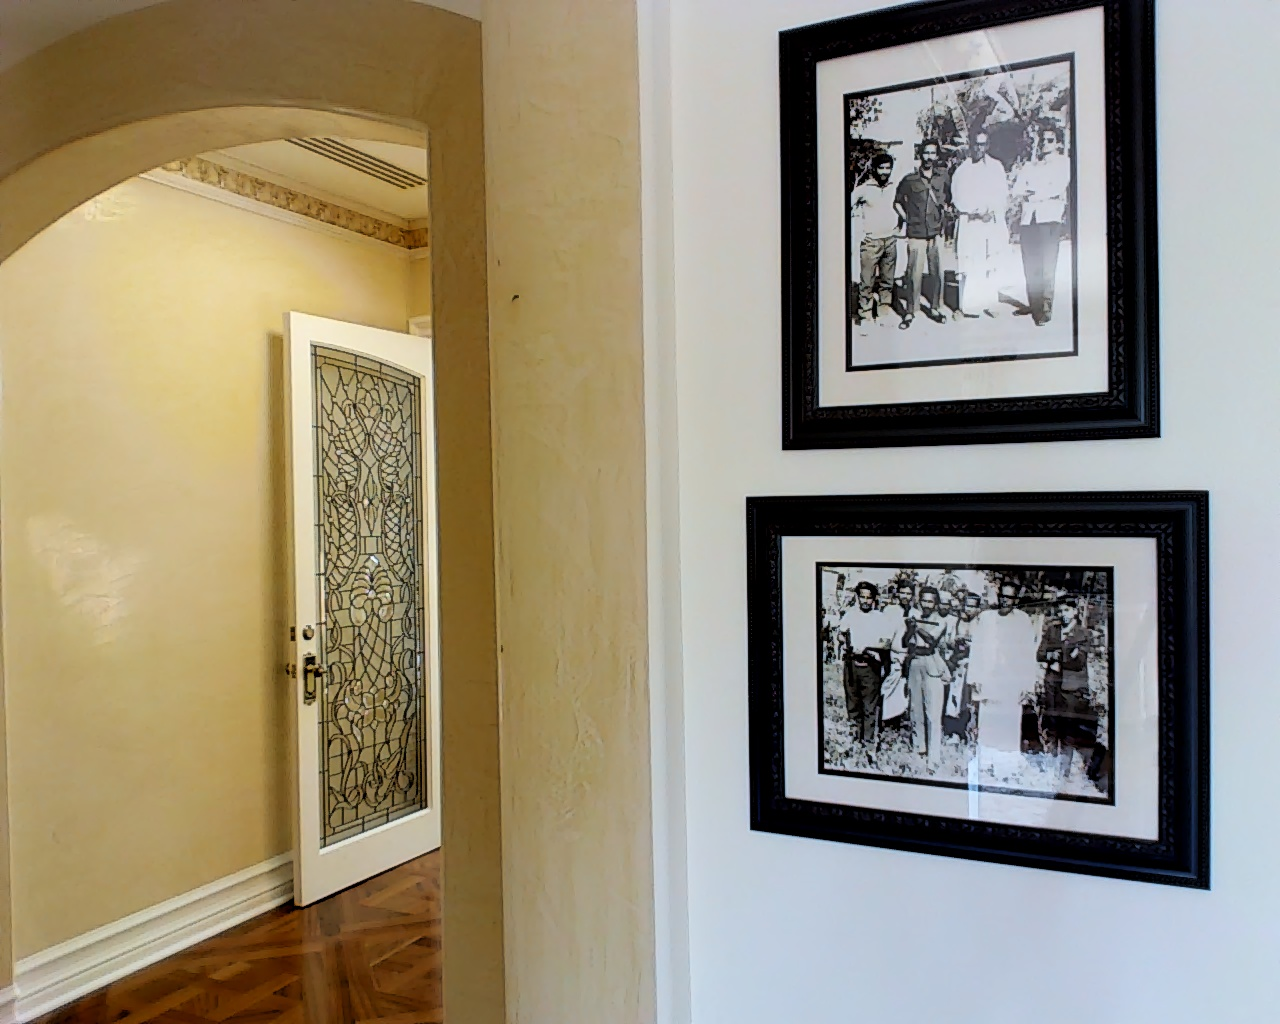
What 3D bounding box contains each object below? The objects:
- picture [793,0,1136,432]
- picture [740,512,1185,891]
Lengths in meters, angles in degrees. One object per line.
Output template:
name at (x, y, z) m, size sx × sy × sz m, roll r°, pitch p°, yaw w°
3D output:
picture at (0.390, -0.380, 1.330) m, size 0.400 × 0.540 × 0.020 m, roll -1°, pitch 0°, yaw 27°
picture at (0.380, 0.220, 1.340) m, size 0.530 × 0.430 × 0.010 m, roll -1°, pitch 0°, yaw 27°
